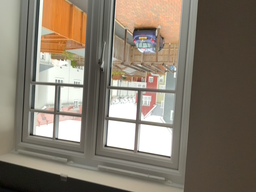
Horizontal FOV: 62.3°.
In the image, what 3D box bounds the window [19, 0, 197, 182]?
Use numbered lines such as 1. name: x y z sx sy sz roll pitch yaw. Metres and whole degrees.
1. window: -0.180 -0.190 1.280 1.080 1.180 0.080 5 -178 19
